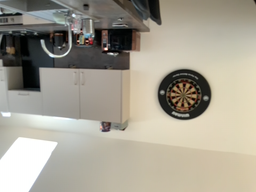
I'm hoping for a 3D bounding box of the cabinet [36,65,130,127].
[{"bbox_3d":[-0.620,-0.040,2.990,1.240,0.740,0.380,4,-170,16],"label":"cabinet"}]
